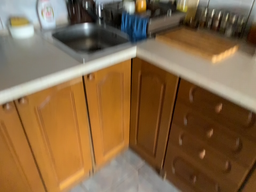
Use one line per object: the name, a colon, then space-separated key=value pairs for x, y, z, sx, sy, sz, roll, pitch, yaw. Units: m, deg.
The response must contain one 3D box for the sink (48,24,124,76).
sink: x=-0.250 y=-0.300 z=1.300 sx=0.320 sy=0.140 sz=0.320 roll=-29 pitch=46 yaw=-36
